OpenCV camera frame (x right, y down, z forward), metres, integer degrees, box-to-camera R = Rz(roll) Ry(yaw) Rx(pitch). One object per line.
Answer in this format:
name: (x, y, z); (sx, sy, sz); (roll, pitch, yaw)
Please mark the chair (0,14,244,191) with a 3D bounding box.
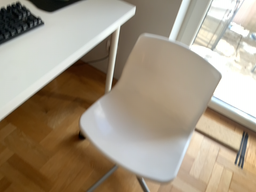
chair: (-0.010, 0.180, 1.020); (0.630, 0.730, 0.640); (30, 50, 14)
